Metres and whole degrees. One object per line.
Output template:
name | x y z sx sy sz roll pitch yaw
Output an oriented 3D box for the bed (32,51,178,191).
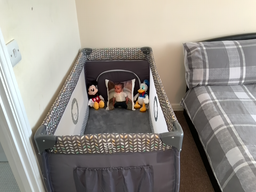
bed | -0.100 0.200 1.640 0.630 0.710 1.270 -1 30 0
